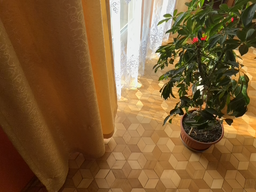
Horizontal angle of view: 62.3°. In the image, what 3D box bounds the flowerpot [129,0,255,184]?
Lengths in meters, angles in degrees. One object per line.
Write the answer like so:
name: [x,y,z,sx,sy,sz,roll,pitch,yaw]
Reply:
flowerpot: [0.340,-0.180,1.080,0.440,1.620,0.560,19,51,14]
